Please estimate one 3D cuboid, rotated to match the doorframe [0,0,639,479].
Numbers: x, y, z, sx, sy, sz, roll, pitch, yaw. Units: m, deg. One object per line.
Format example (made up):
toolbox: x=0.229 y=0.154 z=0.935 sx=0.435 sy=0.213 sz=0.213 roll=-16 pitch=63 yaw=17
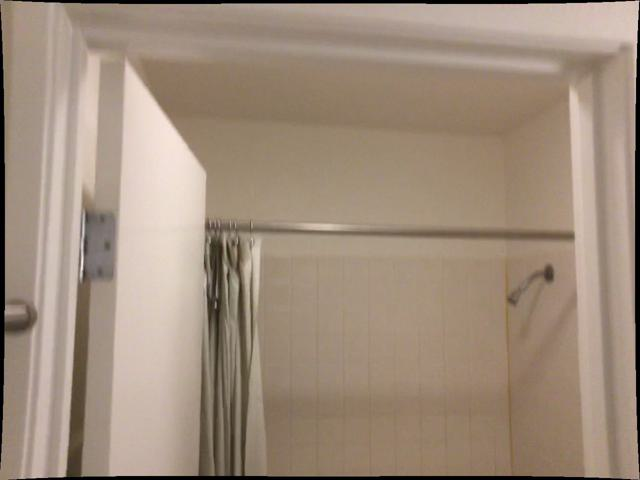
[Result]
doorframe: x=0.030 y=0.701 z=0.660 sx=0.799 sy=2.033 sz=0.180 roll=1 pitch=-6 yaw=-9
